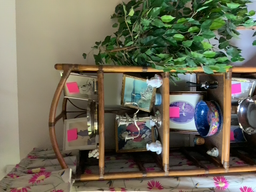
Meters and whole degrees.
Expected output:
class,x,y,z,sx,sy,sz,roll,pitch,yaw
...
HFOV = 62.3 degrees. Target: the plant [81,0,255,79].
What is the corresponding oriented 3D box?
class,x,y,z,sx,sy,sz,roll,pitch,yaw
plant,0.620,-0.450,1.340,0.620,1.740,0.640,-170,81,-82
